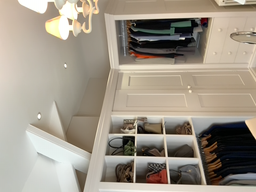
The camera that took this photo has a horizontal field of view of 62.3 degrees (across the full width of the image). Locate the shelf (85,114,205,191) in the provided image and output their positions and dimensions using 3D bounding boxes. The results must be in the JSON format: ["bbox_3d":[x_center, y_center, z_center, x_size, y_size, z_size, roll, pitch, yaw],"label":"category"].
[{"bbox_3d":[0.190,0.770,2.570,0.910,1.150,0.620,-85,-6,-50],"label":"shelf"}]
